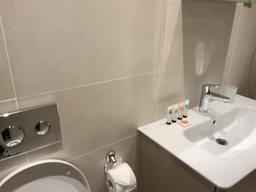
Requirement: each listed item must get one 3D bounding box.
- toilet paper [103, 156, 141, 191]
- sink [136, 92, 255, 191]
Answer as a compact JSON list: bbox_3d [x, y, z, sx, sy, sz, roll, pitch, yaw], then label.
[{"bbox_3d":[-0.030,0.390,0.960,0.120,0.160,0.120,-15,27,-34],"label":"toilet paper"},{"bbox_3d":[0.520,0.200,1.100,0.850,0.150,0.450,-14,27,-33],"label":"sink"}]
